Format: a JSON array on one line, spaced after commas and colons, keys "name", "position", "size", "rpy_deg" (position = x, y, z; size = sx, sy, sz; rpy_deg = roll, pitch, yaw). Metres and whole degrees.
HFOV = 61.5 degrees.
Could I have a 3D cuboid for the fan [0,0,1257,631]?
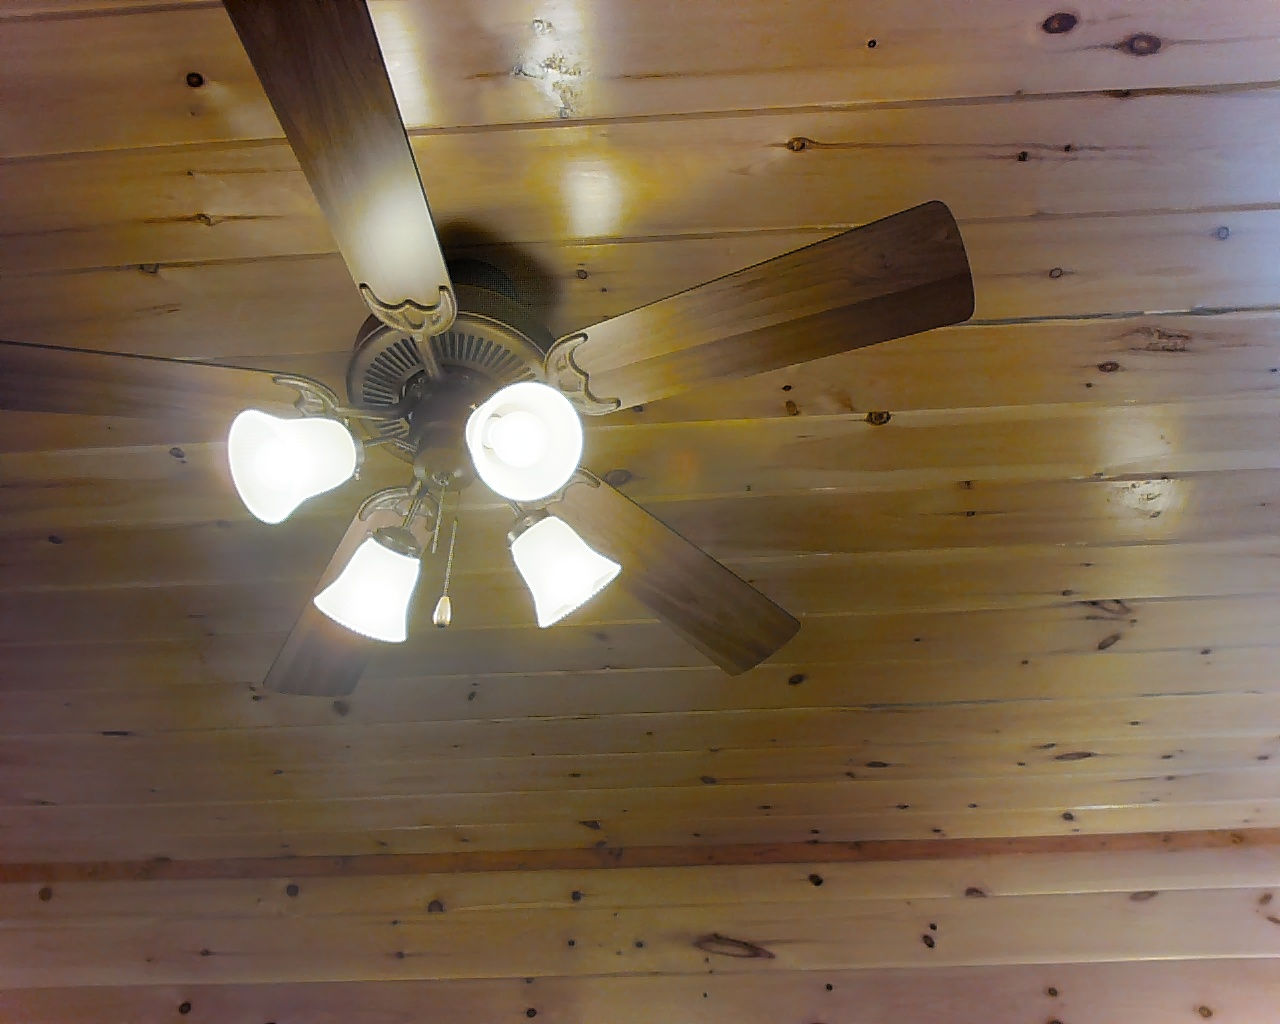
[{"name": "fan", "position": [-0.220, -0.200, 1.400], "size": [1.280, 0.390, 1.350], "rpy_deg": [-2, -19, 3]}]
